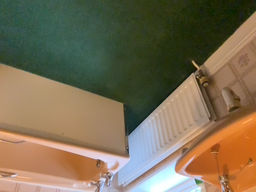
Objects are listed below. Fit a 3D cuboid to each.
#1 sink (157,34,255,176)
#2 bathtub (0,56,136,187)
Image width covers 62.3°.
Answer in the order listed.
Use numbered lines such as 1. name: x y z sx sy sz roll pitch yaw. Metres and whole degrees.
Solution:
1. sink: 0.460 0.100 0.840 0.430 0.190 0.540 17 134 -24
2. bathtub: -0.850 0.180 1.480 1.640 0.510 0.700 17 134 -24
